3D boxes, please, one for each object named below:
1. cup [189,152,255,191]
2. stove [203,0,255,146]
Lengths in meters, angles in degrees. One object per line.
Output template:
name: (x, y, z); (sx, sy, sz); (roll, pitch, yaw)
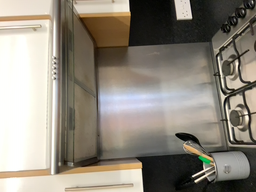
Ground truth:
cup: (0.420, 0.330, 0.950); (0.170, 0.230, 0.130); (102, 164, -78)
stove: (0.460, -0.100, 0.840); (0.520, 0.040, 0.580); (103, 163, -78)
